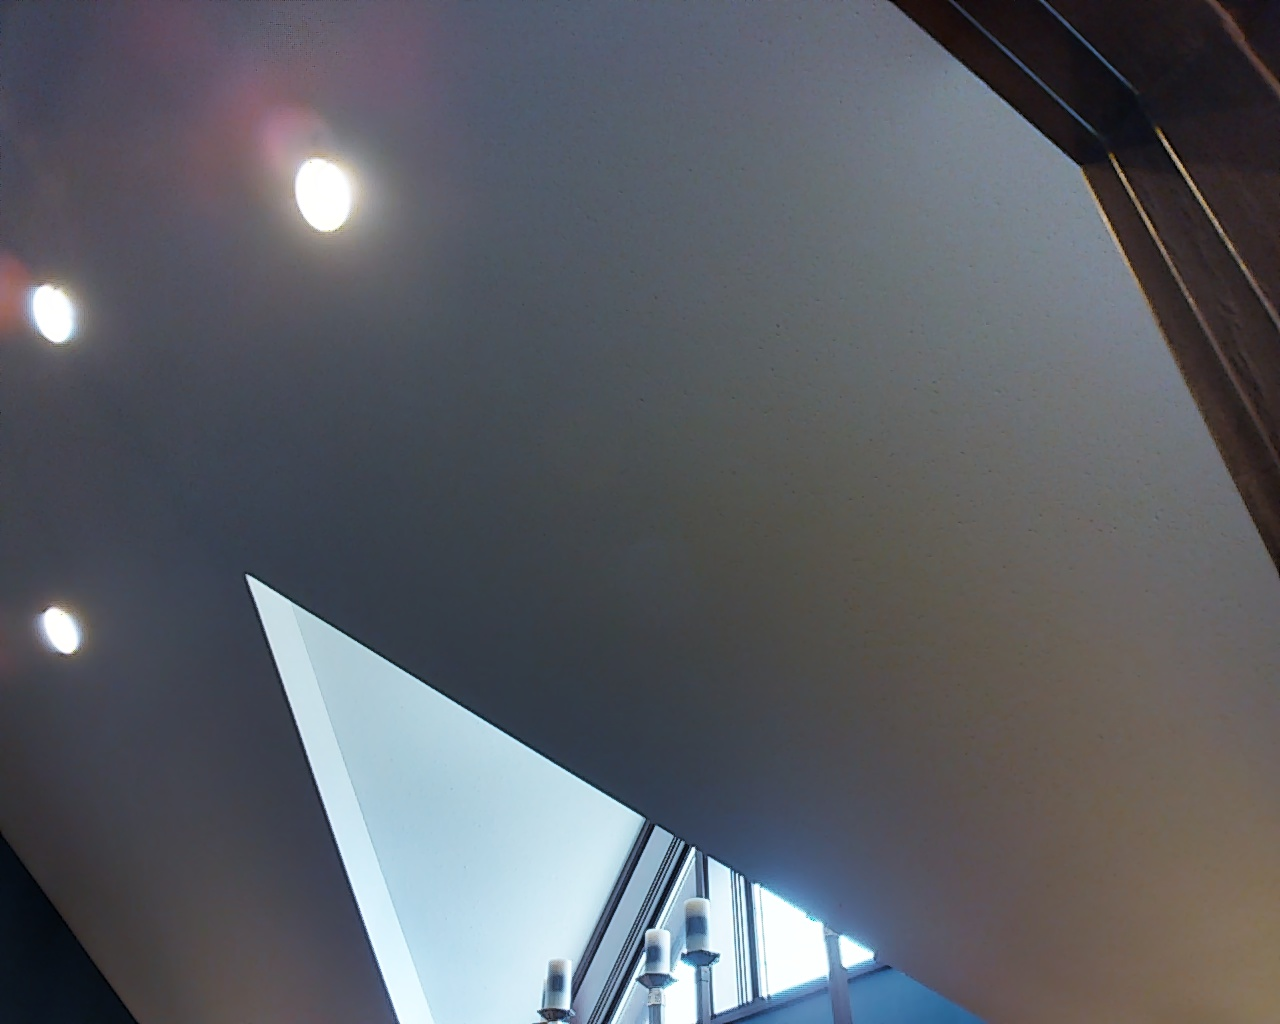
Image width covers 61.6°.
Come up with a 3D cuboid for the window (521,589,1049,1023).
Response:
[{"bbox_3d":[0.290,1.181,3.540,0.260,0.950,2.060,26,-48,-27],"label":"window"}]
